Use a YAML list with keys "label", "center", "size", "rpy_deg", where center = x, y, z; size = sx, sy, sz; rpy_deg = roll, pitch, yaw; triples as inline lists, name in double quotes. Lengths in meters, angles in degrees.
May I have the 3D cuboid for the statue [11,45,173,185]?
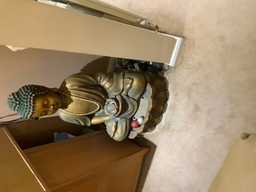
- label: "statue"
  center: [-0.220, 0.050, 1.390]
  size: [0.560, 0.780, 0.530]
  rpy_deg: [30, 113, 36]
